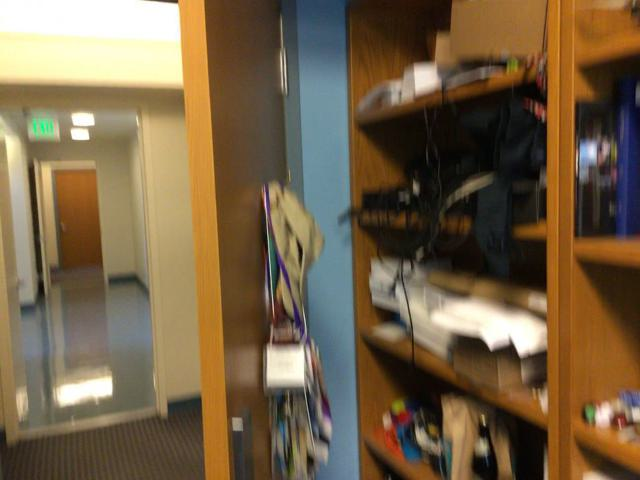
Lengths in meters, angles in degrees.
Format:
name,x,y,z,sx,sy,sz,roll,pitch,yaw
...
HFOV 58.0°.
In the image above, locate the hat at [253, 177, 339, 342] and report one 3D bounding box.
name,x,y,z,sx,sy,sz,roll,pitch,yaw
hat,-0.060,0.040,1.390,0.170,0.370,0.130,-1,3,-24
